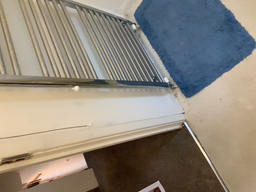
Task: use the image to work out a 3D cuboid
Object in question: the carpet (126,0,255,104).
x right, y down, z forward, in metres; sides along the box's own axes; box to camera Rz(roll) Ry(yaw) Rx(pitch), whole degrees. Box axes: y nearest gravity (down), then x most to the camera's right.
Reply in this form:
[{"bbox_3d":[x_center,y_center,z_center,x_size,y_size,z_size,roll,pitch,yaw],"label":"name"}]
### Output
[{"bbox_3d":[0.330,-0.440,1.370,0.520,0.040,0.830,-46,62,34],"label":"carpet"}]
